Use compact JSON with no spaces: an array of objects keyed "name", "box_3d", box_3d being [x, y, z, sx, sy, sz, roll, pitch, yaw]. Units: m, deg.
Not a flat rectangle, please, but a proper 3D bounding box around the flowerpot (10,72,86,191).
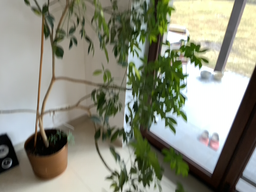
[{"name":"flowerpot","box_3d":[-0.630,0.320,1.740,0.410,0.880,0.430,-12,35,-24]}]
